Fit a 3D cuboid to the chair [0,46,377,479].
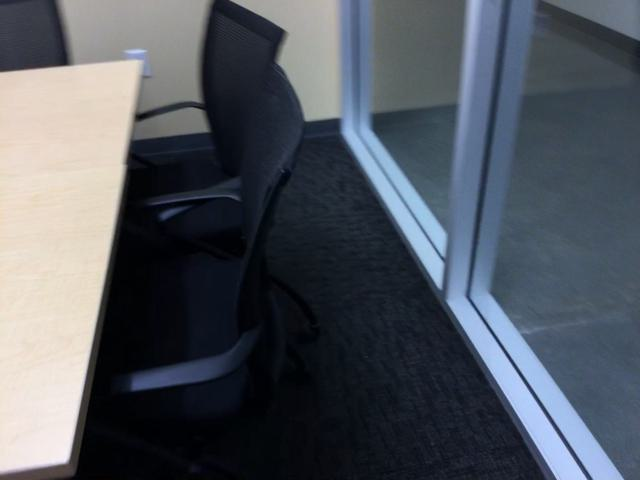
[{"bbox_3d":[-0.240,0.170,1.190,0.530,0.900,0.590,-12,35,-12],"label":"chair"}]
